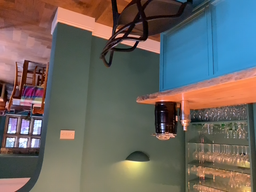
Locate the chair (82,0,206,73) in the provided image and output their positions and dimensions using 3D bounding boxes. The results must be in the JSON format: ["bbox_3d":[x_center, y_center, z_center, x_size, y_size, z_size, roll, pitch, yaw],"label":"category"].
[{"bbox_3d":[0.090,-0.680,1.360,0.570,0.890,0.500,8,168,-29],"label":"chair"}]
